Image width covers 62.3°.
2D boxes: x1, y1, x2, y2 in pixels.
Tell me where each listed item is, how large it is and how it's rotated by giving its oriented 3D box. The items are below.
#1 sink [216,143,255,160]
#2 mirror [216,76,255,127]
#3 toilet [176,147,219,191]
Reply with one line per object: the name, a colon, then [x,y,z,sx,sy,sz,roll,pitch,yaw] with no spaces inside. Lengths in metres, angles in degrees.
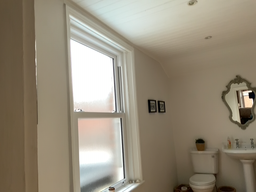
sink: [1.660,0.800,3.100,0.640,0.160,0.490,-7,-7,28]
mirror: [1.740,0.100,3.430,0.500,0.760,0.190,-8,-8,27]
toilet: [1.090,1.240,3.260,0.460,0.800,0.690,-7,-7,28]
